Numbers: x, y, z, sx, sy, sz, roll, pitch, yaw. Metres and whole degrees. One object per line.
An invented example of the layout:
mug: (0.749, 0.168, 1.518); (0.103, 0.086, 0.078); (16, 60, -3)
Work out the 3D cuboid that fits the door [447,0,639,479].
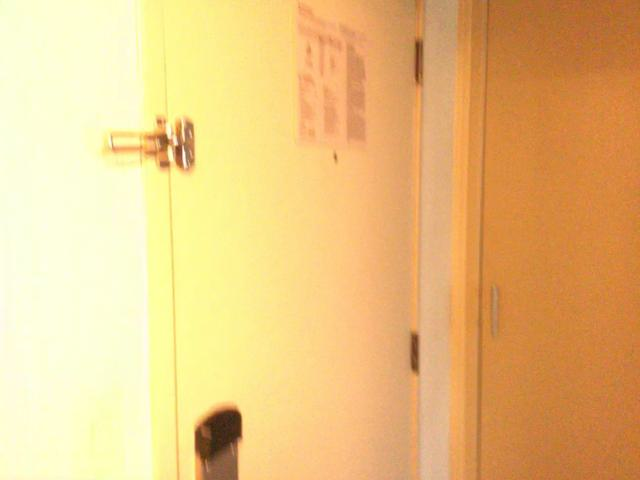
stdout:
door: (0.800, 0.180, 1.630); (0.770, 2.160, 0.050); (-2, 4, 31)
